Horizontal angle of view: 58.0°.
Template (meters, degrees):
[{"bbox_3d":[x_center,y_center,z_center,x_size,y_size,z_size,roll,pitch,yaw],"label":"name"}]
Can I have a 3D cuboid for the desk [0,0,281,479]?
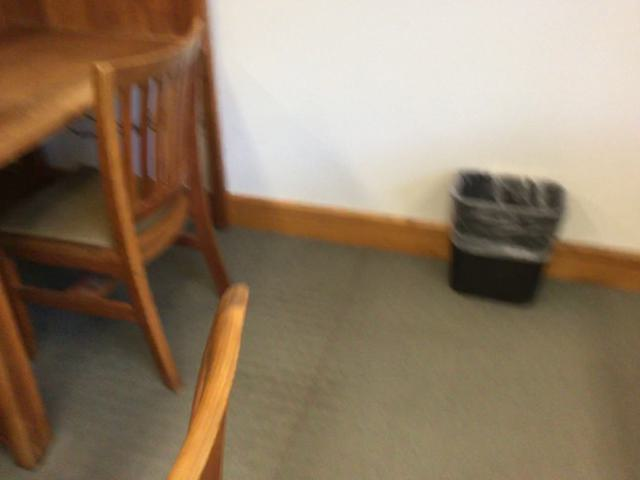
[{"bbox_3d":[-0.950,-0.360,1.690,1.190,1.460,1.410,2,22,14],"label":"desk"}]
